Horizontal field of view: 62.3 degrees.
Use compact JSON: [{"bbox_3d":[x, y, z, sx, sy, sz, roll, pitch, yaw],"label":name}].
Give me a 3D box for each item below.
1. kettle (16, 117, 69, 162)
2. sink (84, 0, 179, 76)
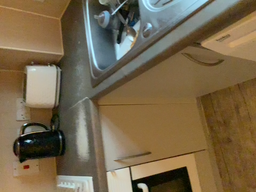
[{"bbox_3d":[-0.500,0.250,1.230,0.190,0.230,0.210,-28,68,51],"label":"kettle"},{"bbox_3d":[-0.020,-0.340,0.870,0.360,0.150,0.410,-26,69,52],"label":"sink"}]
